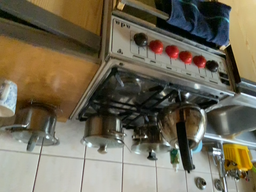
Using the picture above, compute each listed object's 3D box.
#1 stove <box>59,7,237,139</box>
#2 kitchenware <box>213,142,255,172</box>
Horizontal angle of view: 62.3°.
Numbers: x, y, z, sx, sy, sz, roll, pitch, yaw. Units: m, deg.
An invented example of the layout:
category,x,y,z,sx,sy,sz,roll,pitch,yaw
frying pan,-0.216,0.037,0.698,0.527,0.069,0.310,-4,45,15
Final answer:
category,x,y,z,sx,sy,sz,roll,pitch,yaw
stove,0.030,-0.010,0.940,0.510,0.180,0.600,14,150,-23
kitchenware,0.690,0.400,1.380,0.190,0.150,0.140,13,150,-22
